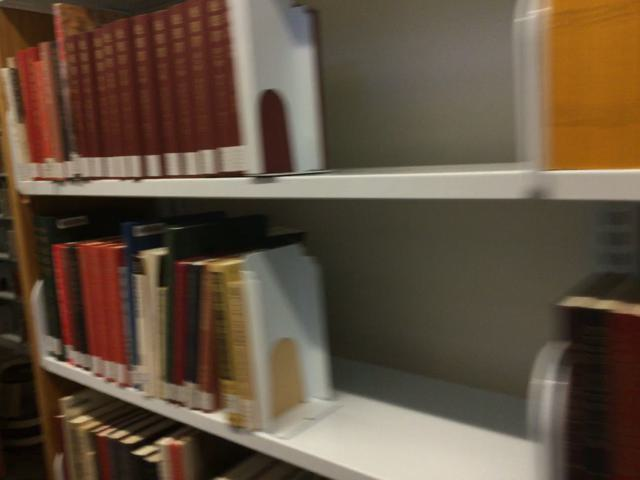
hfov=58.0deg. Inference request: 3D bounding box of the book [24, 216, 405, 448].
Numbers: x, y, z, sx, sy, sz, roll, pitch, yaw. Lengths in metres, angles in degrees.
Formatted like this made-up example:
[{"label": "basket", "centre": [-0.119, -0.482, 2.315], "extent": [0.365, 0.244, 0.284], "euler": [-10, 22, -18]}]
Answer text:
[{"label": "book", "centre": [-0.190, 0.100, 0.990], "extent": [0.570, 0.230, 0.330], "euler": [4, 11, 38]}]
